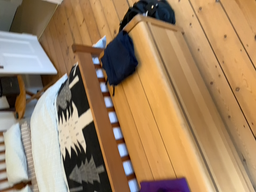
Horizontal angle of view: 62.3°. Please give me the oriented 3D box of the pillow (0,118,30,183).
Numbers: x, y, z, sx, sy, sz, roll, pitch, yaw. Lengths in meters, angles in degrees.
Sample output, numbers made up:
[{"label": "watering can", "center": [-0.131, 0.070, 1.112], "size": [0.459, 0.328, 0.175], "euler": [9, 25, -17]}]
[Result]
[{"label": "pillow", "center": [-1.420, 0.670, 2.610], "size": [0.430, 0.170, 0.660], "euler": [-35, 68, 42]}]

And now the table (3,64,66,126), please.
[{"label": "table", "center": [-1.340, -0.010, 3.010], "size": [0.660, 0.550, 0.610], "euler": [-33, 69, 43]}]

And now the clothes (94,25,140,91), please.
[{"label": "clothes", "center": [-0.080, -0.230, 1.350], "size": [0.270, 0.060, 0.320], "euler": [-29, 72, 44]}]
